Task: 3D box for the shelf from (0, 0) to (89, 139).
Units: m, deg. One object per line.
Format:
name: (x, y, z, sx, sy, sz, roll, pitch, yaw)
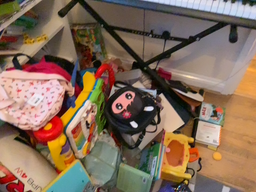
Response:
shelf: (-0.580, -0.220, 1.220, 0.370, 0.730, 0.560, 16, 53, 14)
